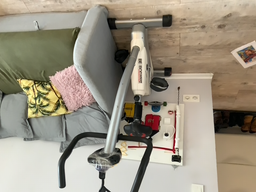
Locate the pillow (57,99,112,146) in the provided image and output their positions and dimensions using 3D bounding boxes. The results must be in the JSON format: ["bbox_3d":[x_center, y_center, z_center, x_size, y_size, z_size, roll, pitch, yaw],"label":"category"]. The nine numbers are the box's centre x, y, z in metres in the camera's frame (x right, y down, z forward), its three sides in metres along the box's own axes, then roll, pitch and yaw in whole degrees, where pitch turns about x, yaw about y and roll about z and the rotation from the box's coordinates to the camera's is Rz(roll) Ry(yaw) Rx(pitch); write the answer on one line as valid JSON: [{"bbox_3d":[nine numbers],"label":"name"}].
[{"bbox_3d":[-0.400,0.240,2.030,0.350,0.380,0.140,11,136,20],"label":"pillow"}]

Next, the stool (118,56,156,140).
[{"bbox_3d":[0.110,0.000,2.020,0.200,0.790,0.220,-6,145,24],"label":"stool"}]
